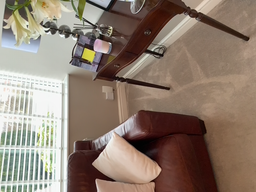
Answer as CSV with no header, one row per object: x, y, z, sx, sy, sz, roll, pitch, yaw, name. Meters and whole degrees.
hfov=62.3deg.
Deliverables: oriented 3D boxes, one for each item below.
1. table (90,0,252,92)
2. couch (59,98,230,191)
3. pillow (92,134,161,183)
0.240,-0.450,1.580,0.840,0.750,0.450,-37,53,49,table
0.080,1.000,1.420,0.980,0.820,1.640,-36,54,50,couch
-0.010,0.450,1.510,0.190,0.430,0.260,76,-176,-67,pillow
